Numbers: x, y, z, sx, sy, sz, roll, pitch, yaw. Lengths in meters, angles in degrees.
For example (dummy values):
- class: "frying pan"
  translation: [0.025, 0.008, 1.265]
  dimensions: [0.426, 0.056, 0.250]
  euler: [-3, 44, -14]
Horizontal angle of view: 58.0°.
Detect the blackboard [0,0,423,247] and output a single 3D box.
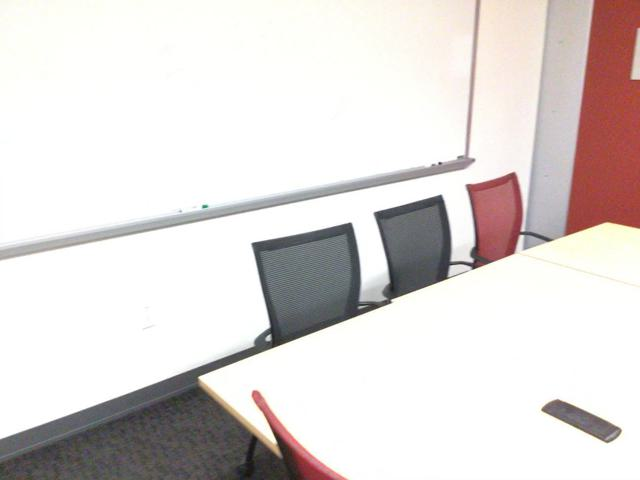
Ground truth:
- class: "blackboard"
  translation: [-0.680, -0.690, 2.290]
  dimensions: [2.800, 1.240, 0.230]
  euler: [-10, 19, -35]
